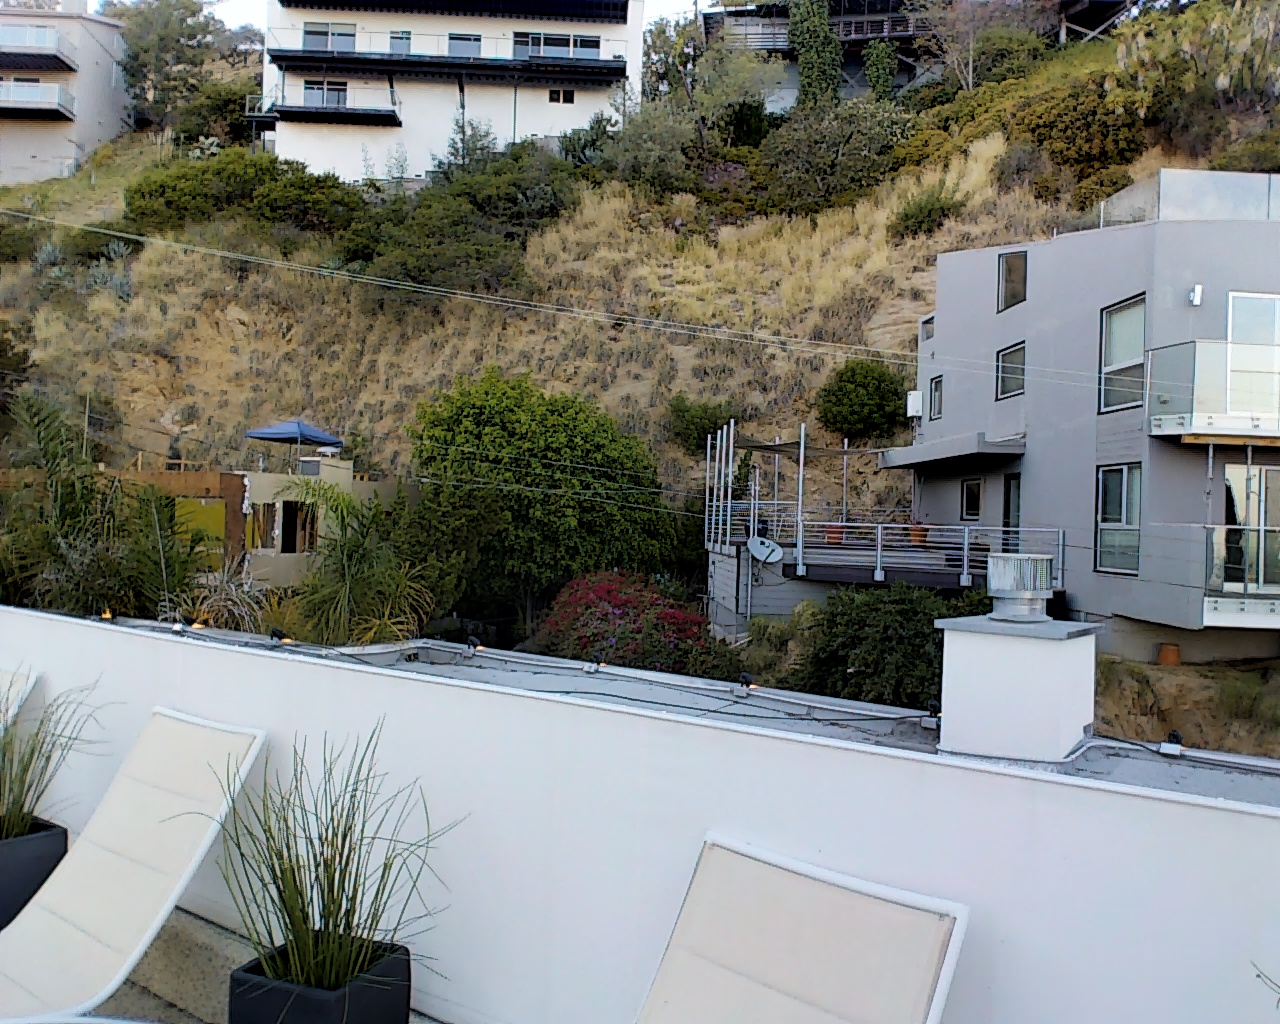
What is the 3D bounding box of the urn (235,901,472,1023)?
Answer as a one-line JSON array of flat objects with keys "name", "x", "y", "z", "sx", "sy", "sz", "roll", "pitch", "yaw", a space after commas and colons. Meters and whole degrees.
[{"name": "urn", "x": -0.680, "y": 1.270, "z": 2.570, "sx": 0.290, "sy": 0.490, "sz": 0.460, "roll": 2, "pitch": 0, "yaw": 38}]
